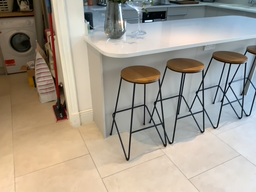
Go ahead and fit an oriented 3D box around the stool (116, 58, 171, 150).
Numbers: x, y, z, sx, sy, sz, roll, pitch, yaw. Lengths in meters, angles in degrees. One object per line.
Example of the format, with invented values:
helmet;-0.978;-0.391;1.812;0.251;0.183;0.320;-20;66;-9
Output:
stool;0.110;0.070;1.910;0.340;0.710;0.310;-13;32;-24

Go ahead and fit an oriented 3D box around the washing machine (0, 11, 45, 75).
washing machine;-1.740;-0.880;3.450;0.550;0.840;0.600;-11;31;-21
